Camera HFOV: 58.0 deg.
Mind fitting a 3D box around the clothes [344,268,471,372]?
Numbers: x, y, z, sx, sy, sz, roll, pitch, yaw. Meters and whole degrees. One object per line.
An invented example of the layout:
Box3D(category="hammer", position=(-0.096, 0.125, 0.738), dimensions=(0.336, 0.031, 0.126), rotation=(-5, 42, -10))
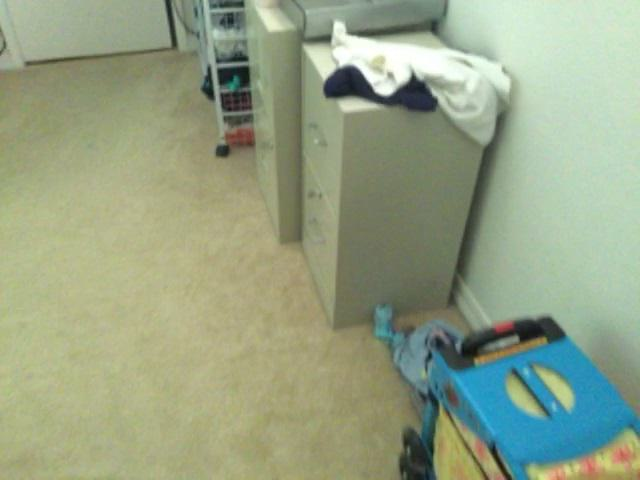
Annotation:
Box3D(category="clothes", position=(0.240, 0.220, 1.650), dimensions=(0.270, 0.090, 0.260), rotation=(-8, 41, -14))

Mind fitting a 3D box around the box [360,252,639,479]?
Box3D(category="box", position=(0.340, 0.370, 1.180), dimensions=(0.340, 0.460, 0.460), rotation=(-8, 41, -14))
